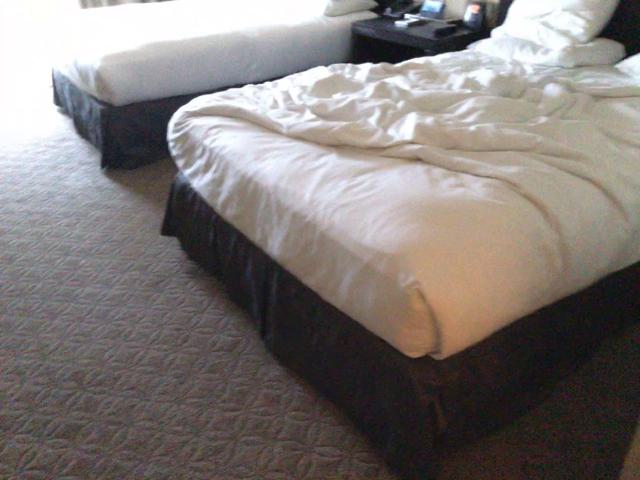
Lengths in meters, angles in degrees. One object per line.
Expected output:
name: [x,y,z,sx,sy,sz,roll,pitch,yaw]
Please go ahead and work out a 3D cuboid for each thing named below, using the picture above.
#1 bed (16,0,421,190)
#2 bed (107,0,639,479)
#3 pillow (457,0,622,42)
bed: [-0.740,-1.660,3.920,2.180,1.650,1.790,-19,34,-28]
bed: [0.580,-0.600,2.150,2.120,1.510,1.730,-19,34,-28]
pillow: [1.030,-1.140,2.750,0.380,0.250,0.630,-19,34,-28]
